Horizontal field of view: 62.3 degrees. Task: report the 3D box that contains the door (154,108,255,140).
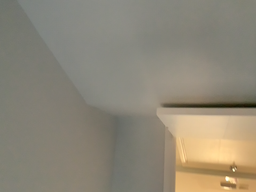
[{"bbox_3d":[1.200,0.210,1.280,0.760,1.950,0.040,45,-133,-62],"label":"door"}]
